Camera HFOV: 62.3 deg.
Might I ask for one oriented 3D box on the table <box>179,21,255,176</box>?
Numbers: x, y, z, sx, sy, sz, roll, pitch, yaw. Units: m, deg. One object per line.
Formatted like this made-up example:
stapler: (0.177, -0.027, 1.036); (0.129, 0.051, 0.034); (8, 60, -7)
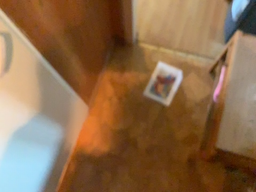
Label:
table: (0.660, 0.060, 1.320); (0.400, 0.560, 0.740); (17, 75, 6)
